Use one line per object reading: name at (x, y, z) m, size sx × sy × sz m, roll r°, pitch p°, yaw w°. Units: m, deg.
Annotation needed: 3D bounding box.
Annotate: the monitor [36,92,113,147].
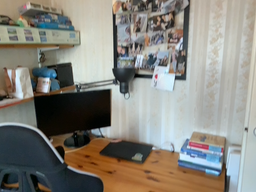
monitor at (-0.390, 0.170, 1.620) m, size 0.550 × 0.380 × 0.040 m, roll -3°, pitch 16°, yaw -24°
